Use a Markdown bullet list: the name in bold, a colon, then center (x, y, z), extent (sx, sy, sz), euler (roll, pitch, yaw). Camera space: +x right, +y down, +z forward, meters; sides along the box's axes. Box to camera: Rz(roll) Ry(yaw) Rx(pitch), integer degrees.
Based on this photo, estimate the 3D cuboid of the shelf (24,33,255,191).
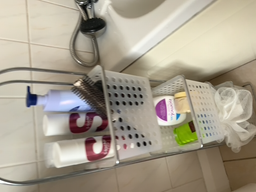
- **shelf**: center (0.140, 0.070, 0.590), extent (0.250, 0.720, 0.240), euler (-36, 62, 46)
